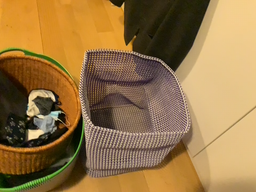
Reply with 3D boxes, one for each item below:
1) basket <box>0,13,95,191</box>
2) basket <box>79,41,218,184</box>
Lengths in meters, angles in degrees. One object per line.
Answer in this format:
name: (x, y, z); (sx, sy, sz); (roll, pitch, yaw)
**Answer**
basket: (-0.430, 0.030, 0.840); (0.480, 0.350, 0.620); (-9, 59, -16)
basket: (0.020, 0.070, 0.880); (0.390, 0.380, 0.420); (-6, 58, -14)
